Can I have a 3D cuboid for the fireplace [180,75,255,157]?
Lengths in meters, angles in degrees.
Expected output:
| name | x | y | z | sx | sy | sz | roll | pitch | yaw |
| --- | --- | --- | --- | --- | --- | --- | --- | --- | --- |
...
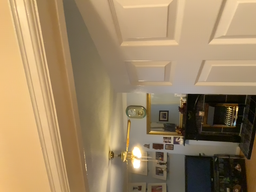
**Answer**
| name | x | y | z | sx | sy | sz | roll | pitch | yaw |
| --- | --- | --- | --- | --- | --- | --- | --- | --- | --- |
| fireplace | 1.680 | 0.370 | 4.080 | 0.610 | 1.190 | 1.410 | -70 | -21 | -67 |
